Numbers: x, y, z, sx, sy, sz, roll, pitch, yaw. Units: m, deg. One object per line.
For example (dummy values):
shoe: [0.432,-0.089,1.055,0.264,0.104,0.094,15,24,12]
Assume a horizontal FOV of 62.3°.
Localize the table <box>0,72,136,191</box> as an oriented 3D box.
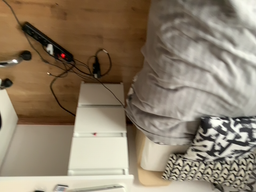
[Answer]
table: [-0.460,0.290,1.400,0.900,0.730,0.500,2,136,-7]
